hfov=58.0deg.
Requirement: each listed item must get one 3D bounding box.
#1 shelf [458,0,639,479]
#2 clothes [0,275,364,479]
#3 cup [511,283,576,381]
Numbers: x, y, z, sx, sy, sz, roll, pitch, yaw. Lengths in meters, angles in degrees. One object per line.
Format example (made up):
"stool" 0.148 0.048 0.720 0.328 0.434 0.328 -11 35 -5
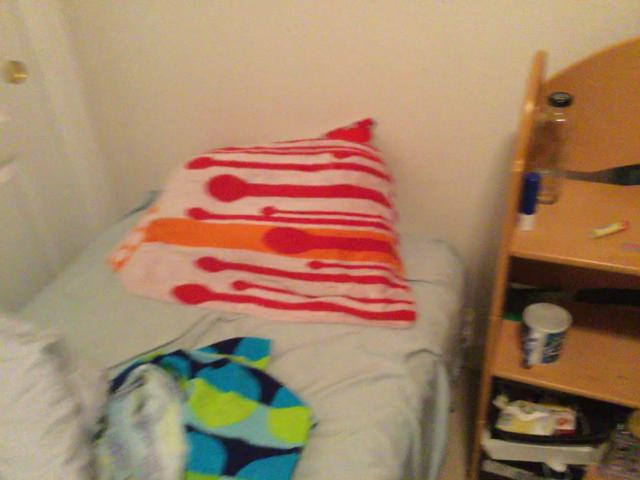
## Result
"shelf" 0.670 0.140 1.090 0.700 1.060 0.420 10 35 26
"clothes" -0.240 0.280 1.120 0.500 0.090 0.470 10 35 26
"cup" 0.450 0.180 1.160 0.090 0.090 0.170 10 35 26
